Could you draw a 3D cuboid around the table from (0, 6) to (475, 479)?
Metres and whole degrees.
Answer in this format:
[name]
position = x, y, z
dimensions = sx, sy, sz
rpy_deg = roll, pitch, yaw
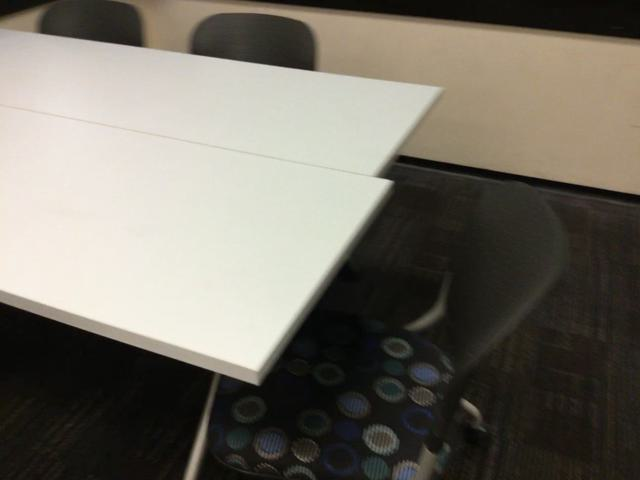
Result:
[table]
position = -0.700, -0.070, 1.750
dimensions = 1.920, 0.820, 1.310
rpy_deg = 15, 34, 20
